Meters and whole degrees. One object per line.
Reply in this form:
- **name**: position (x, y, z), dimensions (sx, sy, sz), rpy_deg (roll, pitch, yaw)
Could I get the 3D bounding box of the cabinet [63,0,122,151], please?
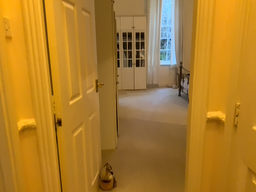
- **cabinet**: position (-0.450, -0.570, 3.170), dimensions (0.580, 2.190, 1.560), rpy_deg (-2, 13, -4)
